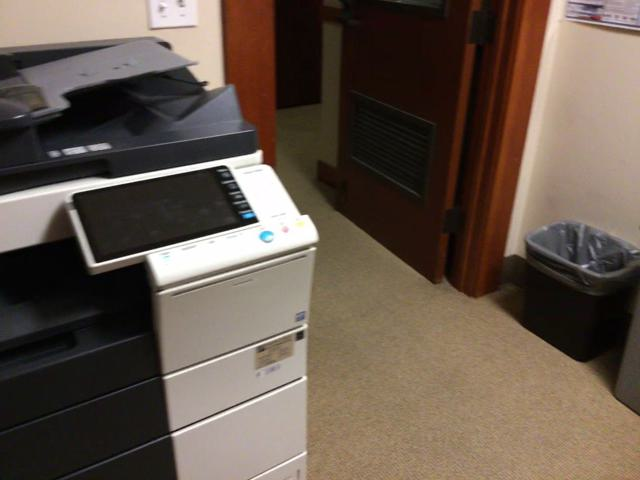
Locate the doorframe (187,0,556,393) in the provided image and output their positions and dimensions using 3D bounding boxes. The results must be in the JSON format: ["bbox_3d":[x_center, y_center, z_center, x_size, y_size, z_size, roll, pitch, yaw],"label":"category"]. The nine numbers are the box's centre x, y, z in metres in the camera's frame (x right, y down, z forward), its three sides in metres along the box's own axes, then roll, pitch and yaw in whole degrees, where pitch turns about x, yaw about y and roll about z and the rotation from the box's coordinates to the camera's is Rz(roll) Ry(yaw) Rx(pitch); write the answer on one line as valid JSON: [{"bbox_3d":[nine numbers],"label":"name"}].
[{"bbox_3d":[0.190,-0.430,1.830,1.100,1.700,0.280,-14,31,-25],"label":"doorframe"}]
